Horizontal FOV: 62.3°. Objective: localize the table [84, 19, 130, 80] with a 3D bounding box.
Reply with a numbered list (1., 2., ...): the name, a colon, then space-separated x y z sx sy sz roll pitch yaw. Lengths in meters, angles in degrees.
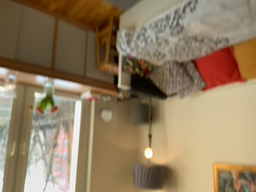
1. table: -0.250 -0.550 2.650 0.520 0.570 0.240 13 163 -43
